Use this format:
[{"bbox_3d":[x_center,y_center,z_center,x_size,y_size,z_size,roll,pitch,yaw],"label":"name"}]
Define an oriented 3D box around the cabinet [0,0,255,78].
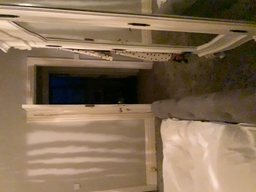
[{"bbox_3d":[0.110,-0.720,0.830,2.950,2.220,0.800,164,106,-75],"label":"cabinet"}]
